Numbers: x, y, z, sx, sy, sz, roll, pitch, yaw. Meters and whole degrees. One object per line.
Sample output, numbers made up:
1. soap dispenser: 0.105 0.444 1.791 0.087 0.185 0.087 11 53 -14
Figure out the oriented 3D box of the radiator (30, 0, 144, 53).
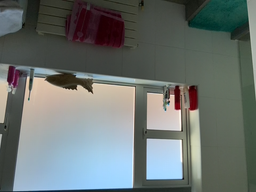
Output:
1. radiator: -0.300 -0.710 1.760 0.870 0.580 0.110 5 169 -16
